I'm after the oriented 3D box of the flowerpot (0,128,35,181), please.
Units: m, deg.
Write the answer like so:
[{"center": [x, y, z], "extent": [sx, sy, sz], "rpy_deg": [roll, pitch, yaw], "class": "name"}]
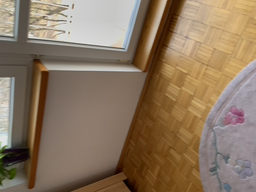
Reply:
[{"center": [-0.830, 0.400, 1.480], "extent": [0.250, 0.250, 0.210], "rpy_deg": [38, 121, 41], "class": "flowerpot"}]
